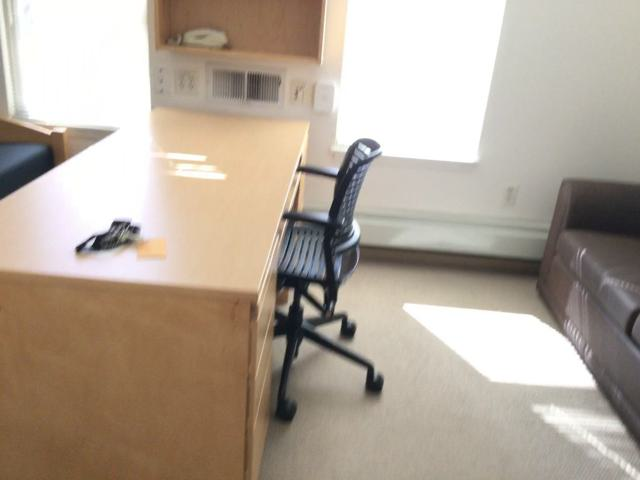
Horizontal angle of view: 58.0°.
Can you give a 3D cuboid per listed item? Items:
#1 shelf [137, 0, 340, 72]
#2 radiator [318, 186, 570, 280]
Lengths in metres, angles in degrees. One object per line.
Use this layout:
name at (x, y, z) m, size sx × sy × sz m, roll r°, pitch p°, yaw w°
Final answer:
shelf at (-0.340, -1.380, 2.510) m, size 0.870 × 1.200 × 0.340 m, roll 1°, pitch 23°, yaw 0°
radiator at (0.600, -0.040, 2.990) m, size 1.210 × 0.390 × 0.260 m, roll 1°, pitch 23°, yaw 0°
